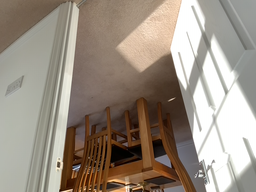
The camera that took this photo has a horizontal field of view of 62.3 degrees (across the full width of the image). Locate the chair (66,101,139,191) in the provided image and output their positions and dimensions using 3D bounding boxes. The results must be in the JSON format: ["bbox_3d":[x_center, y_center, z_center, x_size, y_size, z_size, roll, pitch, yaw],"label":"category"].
[{"bbox_3d":[-0.260,0.690,2.290,0.440,1.030,0.610,-24,142,26],"label":"chair"}]
